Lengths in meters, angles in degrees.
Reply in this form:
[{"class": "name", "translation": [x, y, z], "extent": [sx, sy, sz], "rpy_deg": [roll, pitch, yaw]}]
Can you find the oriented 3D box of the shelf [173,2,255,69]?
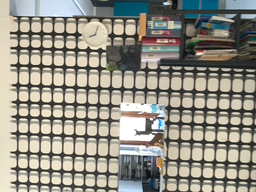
[{"class": "shelf", "translation": [1.010, -0.370, 1.430], "extent": [0.320, 1.330, 0.350], "rpy_deg": [-66, -22, -87]}]
